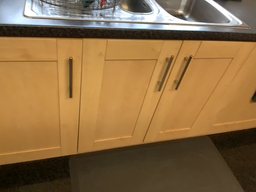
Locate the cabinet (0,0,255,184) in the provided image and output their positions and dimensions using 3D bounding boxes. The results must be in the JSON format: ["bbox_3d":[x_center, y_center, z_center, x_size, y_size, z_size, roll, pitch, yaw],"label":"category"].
[{"bbox_3d":[0.030,-0.120,1.320,3.180,0.880,0.630,-5,46,-20],"label":"cabinet"}]
